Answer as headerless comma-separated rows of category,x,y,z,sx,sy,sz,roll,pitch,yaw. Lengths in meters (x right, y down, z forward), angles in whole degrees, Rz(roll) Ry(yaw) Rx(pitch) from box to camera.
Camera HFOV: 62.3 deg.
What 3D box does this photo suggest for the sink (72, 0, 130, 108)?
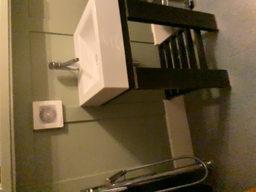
sink,-0.190,-0.240,1.260,0.490,0.140,0.540,-25,70,62
